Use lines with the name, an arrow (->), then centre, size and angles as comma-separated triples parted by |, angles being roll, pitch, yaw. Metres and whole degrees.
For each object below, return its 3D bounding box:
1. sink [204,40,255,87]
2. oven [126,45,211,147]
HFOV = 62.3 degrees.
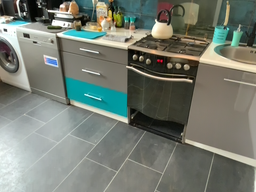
sink -> 0.920, -0.270, 1.690 | 0.490, 0.160, 0.500 | 16, 34, 23
oven -> 0.390, -0.040, 2.120 | 0.590, 0.690, 0.620 | 16, 34, 23
